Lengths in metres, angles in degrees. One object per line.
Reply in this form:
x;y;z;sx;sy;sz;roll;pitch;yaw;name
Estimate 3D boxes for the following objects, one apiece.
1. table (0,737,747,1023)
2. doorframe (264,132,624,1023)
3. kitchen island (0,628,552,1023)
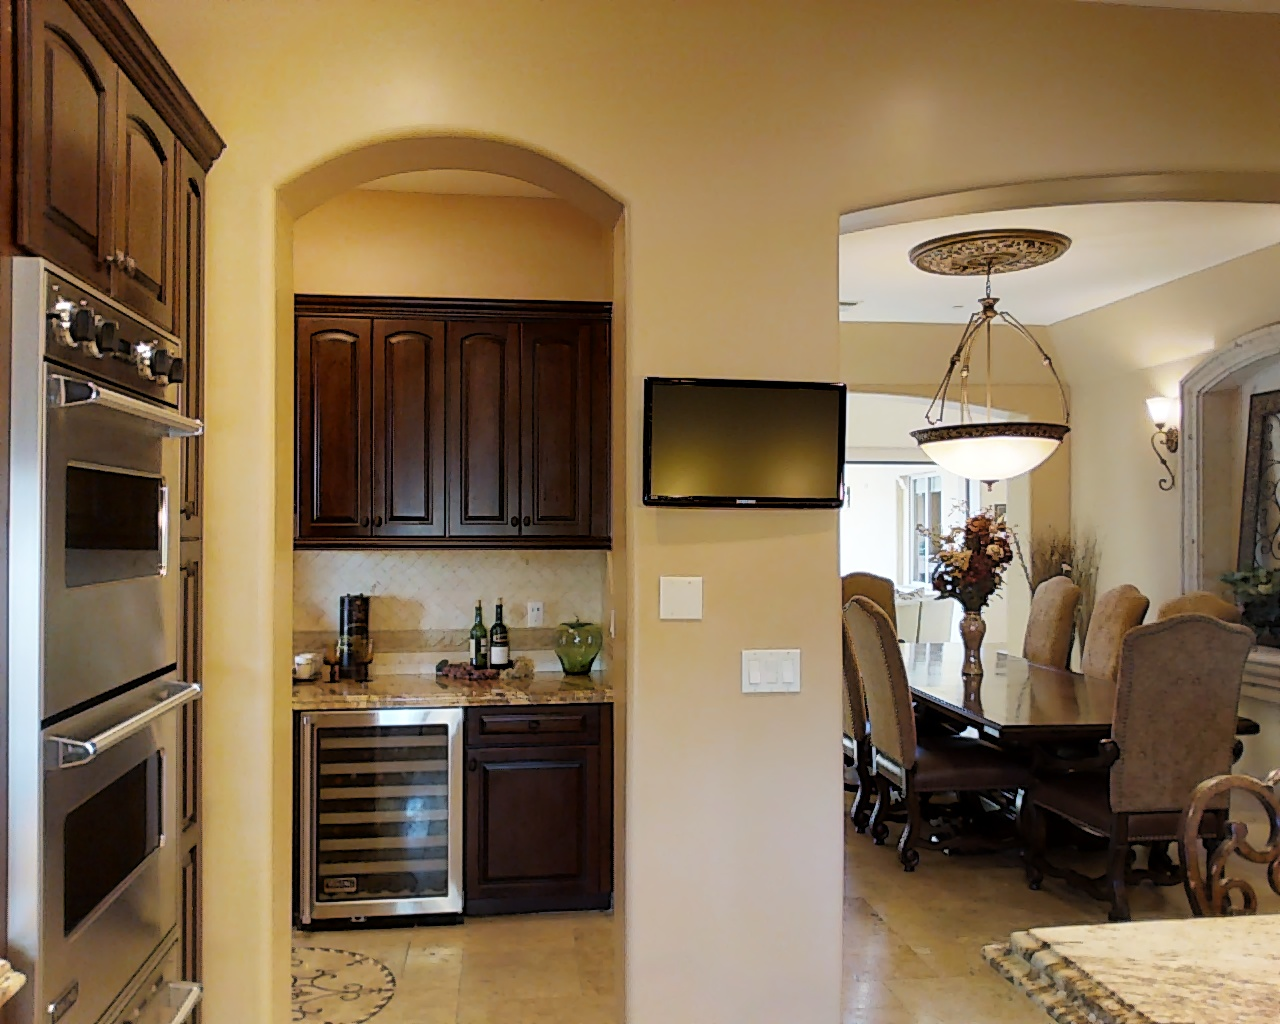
-1.320;1.220;3.480;3.120;0.670;1.230;0;-1;-8;table
-0.530;0.280;2.990;0.930;2.550;0.280;0;-1;-8;doorframe
-1.380;1.040;3.690;2.030;1.090;1.950;0;-1;-8;kitchen island
